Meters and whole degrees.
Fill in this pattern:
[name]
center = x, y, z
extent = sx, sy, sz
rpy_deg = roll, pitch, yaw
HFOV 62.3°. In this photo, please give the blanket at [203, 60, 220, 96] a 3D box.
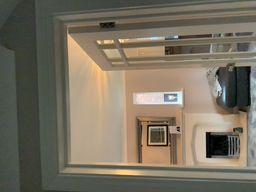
[blanket]
center = 1.570, -0.330, 4.010
extent = 0.520, 0.170, 0.630
rpy_deg = -31, -60, -82
